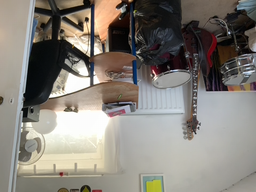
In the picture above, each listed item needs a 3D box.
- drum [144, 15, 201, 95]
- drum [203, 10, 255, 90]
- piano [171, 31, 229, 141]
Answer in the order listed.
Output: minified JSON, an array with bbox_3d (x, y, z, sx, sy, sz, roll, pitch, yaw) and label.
[{"bbox_3d":[0.400,-0.380,2.110,0.420,0.610,0.500,-1,165,-1],"label":"drum"},{"bbox_3d":[1.090,-0.420,2.030,0.520,0.620,0.420,-1,165,-1],"label":"drum"},{"bbox_3d":[0.740,-0.120,2.300,0.420,1.160,0.240,-2,165,1],"label":"piano"}]
